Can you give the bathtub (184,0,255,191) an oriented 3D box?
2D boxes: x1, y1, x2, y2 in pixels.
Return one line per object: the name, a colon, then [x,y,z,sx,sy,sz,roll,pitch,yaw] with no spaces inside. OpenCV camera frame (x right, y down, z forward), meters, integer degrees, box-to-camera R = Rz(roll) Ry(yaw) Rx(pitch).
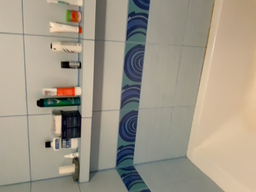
bathtub: [0.880,-0.220,1.190,0.690,0.580,1.580,-143,54,-61]
